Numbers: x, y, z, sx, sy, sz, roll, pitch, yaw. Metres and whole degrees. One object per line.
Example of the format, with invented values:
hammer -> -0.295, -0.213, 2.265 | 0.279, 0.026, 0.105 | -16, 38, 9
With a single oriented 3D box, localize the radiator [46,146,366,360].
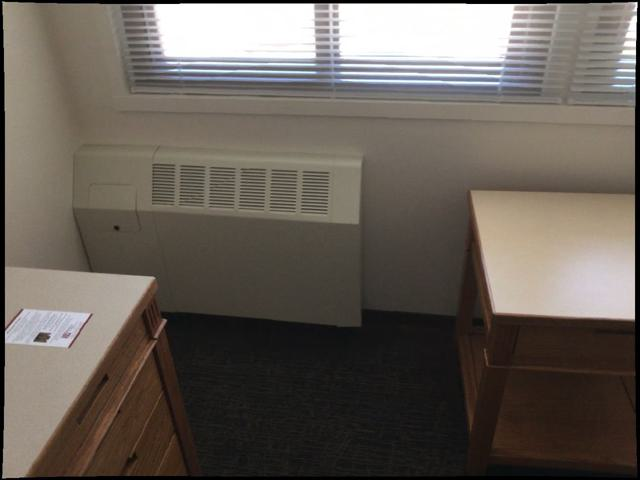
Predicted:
radiator -> -0.309, 0.050, 1.830 | 0.888, 0.651, 0.190 | 3, 36, 9
